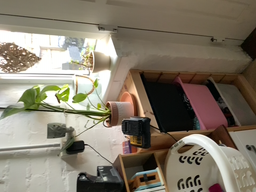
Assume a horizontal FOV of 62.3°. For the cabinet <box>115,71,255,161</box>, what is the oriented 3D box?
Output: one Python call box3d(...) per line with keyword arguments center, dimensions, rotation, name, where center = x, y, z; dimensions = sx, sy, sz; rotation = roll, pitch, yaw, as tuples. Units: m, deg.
box3d(center=(0.420, 0.110, 1.390), dimensions=(0.300, 0.900, 0.420), rotation=(117, 145, -47), name="cabinet")
